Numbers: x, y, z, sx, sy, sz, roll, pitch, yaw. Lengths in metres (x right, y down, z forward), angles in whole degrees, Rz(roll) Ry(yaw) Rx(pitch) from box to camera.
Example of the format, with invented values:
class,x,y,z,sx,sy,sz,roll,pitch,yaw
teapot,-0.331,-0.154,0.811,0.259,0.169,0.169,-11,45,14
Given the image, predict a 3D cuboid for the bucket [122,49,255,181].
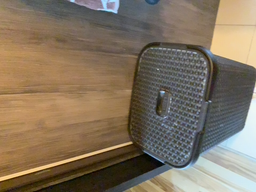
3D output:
class,x,y,z,sx,sy,sz,roll,pitch,yaw
bucket,0.310,0.040,0.980,0.310,0.550,0.410,23,109,43
